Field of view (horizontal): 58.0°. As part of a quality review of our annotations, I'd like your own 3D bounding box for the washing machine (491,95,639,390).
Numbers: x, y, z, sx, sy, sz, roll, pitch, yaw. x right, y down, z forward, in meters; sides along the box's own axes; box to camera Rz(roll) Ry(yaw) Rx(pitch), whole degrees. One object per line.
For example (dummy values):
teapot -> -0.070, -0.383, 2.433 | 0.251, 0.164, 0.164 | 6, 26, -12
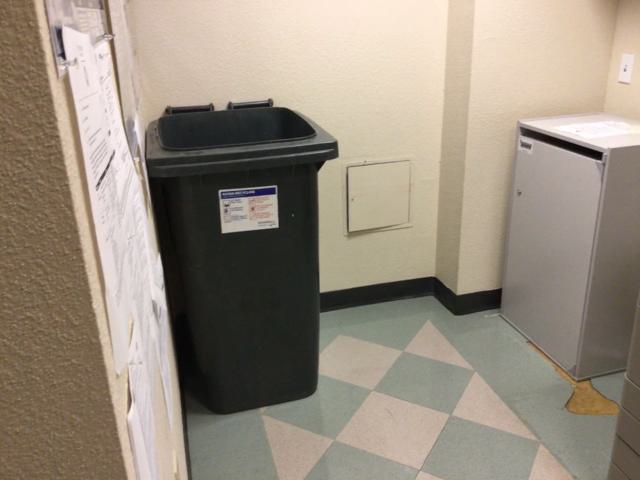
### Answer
washing machine -> 1.050, -0.030, 2.200 | 0.470, 0.940, 0.590 | -5, 20, -11
